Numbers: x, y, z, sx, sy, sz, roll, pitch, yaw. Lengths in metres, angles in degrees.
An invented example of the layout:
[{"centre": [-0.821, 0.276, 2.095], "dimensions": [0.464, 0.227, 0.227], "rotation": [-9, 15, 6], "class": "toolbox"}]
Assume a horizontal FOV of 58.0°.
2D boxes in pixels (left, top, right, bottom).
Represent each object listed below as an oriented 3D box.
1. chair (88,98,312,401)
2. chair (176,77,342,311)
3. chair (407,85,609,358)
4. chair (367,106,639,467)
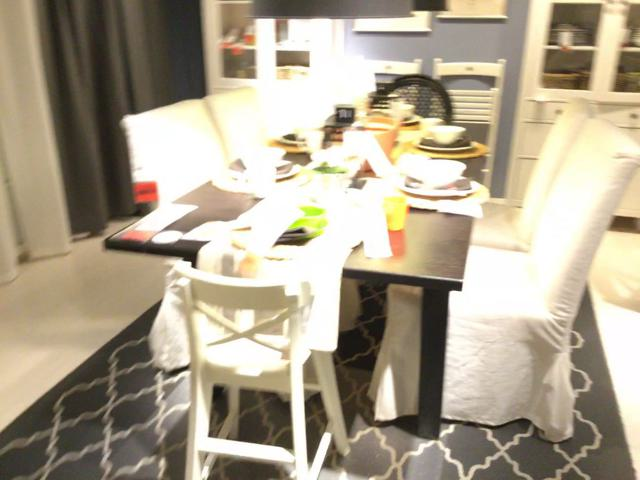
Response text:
[{"centre": [-0.390, -0.010, 2.210], "dimensions": [0.520, 0.960, 0.610], "rotation": [5, 22, 17], "class": "chair"}, {"centre": [-0.240, -0.250, 2.720], "dimensions": [0.540, 0.950, 0.560], "rotation": [5, 22, 17], "class": "chair"}, {"centre": [0.770, -0.140, 2.490], "dimensions": [0.640, 0.950, 0.740], "rotation": [5, 22, 17], "class": "chair"}, {"centre": [0.580, 0.090, 1.950], "dimensions": [0.710, 0.970, 0.630], "rotation": [5, 22, 17], "class": "chair"}]
